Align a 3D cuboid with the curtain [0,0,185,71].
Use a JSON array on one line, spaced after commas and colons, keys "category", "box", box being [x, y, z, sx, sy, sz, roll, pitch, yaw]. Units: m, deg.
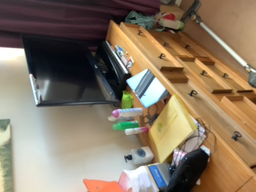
[{"category": "curtain", "box": [-0.550, -0.560, 1.670, 0.160, 2.230, 0.680, 54, 136, 42]}]
